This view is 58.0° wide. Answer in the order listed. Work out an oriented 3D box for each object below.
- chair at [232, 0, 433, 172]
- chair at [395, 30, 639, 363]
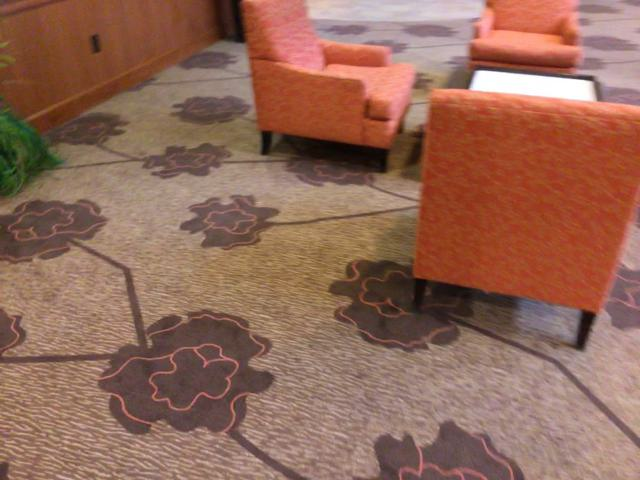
[{"bbox_3d":[0.140,-1.010,3.390,0.900,0.960,0.770,4,30,20],"label":"chair"},{"bbox_3d":[0.790,-0.230,2.240,0.770,0.910,0.920,4,30,20],"label":"chair"}]
